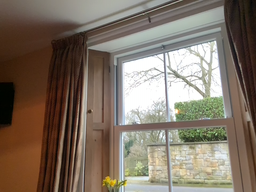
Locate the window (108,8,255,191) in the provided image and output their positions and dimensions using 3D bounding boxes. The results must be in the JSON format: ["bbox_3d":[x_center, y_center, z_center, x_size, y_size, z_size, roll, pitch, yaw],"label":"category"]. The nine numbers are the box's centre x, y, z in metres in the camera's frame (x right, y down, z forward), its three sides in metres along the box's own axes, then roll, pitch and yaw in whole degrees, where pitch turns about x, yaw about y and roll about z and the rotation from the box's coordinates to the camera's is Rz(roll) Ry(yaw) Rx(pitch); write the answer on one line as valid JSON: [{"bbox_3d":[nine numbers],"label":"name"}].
[{"bbox_3d":[0.400,0.310,1.840,1.310,1.800,0.170,-9,-15,33],"label":"window"}]
